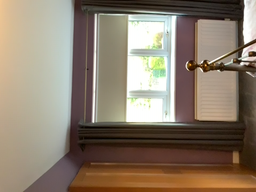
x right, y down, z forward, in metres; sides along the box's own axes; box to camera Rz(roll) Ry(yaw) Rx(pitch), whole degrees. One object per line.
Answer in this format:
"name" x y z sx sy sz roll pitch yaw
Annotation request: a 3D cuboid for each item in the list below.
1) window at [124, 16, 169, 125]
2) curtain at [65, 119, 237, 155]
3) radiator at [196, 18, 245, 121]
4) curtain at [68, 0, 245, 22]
"window" 0.280 -0.380 3.120 0.060 0.630 1.580 122 149 -84
"curtain" 0.310 0.530 2.770 0.160 2.190 0.410 119 152 -84
"radiator" 1.250 -0.350 2.860 0.100 0.620 1.360 135 137 -86
"curtain" 0.400 -1.260 2.870 0.130 2.340 0.370 119 152 -84
